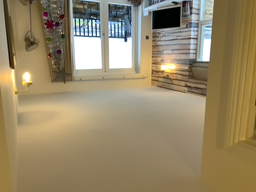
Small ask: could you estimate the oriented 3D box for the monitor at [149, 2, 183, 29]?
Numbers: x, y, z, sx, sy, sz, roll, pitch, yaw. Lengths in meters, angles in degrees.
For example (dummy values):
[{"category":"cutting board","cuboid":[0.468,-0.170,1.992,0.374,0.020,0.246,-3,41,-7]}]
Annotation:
[{"category":"monitor","cuboid":[0.800,-1.740,4.610,0.790,0.470,0.050,10,-165,40]}]
